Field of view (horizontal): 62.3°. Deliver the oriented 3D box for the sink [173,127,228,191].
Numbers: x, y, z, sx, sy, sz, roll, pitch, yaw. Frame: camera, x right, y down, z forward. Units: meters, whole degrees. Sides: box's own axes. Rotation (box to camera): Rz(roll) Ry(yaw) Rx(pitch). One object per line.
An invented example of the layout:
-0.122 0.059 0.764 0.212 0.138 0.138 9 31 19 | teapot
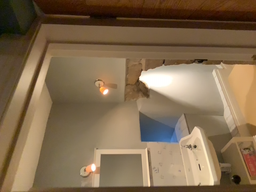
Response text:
0.720 0.750 2.240 0.460 0.270 0.700 96 174 -50 | sink
